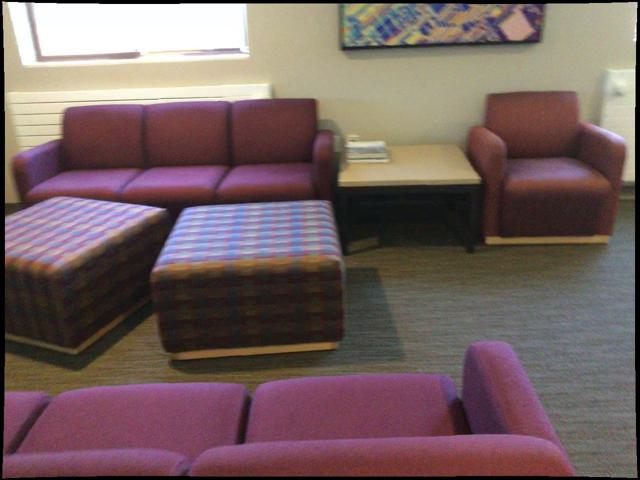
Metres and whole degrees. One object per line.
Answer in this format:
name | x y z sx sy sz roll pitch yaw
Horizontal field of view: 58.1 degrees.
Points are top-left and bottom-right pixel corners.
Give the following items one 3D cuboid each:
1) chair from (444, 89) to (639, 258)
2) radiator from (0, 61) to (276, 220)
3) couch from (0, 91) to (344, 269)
chair | 1.267 -0.431 3.460 0.858 0.752 0.830 -3 24 2
radiator | -1.297 -0.652 3.930 1.905 0.992 0.120 -2 24 3
couch | -0.878 -0.401 3.590 2.025 0.792 0.870 -2 25 3
